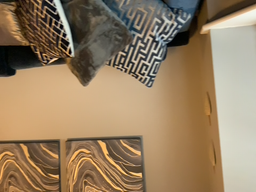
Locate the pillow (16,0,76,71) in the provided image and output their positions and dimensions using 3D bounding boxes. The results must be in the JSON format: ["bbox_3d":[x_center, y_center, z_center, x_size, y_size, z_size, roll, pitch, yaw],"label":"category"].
[{"bbox_3d":[-0.460,-0.410,1.170,0.150,0.370,0.370,16,140,-39],"label":"pillow"}]
